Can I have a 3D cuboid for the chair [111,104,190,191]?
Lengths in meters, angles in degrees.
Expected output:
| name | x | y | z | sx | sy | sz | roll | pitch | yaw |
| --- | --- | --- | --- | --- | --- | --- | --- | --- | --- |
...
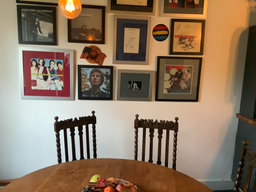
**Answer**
| name | x | y | z | sx | sy | sz | roll | pitch | yaw |
| --- | --- | --- | --- | --- | --- | --- | --- | --- | --- |
| chair | 0.170 | 0.650 | 1.870 | 0.430 | 1.040 | 0.490 | -7 | 13 | -40 |
